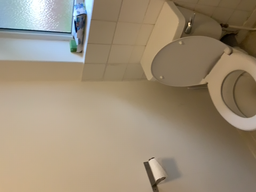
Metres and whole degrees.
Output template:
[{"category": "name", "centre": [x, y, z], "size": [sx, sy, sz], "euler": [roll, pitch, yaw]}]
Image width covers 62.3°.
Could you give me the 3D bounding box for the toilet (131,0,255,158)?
[{"category": "toilet", "centre": [0.560, -0.120, 1.270], "size": [0.470, 0.820, 0.700], "euler": [113, 147, -44]}]
